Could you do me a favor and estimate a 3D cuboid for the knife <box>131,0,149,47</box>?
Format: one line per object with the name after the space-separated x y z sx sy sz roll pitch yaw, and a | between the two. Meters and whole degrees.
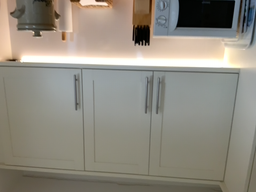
0.080 -0.500 1.430 0.110 0.330 0.130 2 -165 3 | knife
